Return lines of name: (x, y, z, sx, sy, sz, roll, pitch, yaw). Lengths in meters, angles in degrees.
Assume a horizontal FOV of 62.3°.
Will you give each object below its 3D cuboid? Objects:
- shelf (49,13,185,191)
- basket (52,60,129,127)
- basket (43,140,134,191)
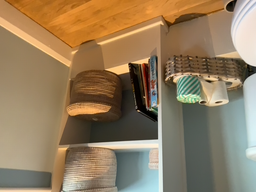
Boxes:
shelf: (-0.080, 0.620, 1.130, 0.700, 2.150, 0.300, -10, 156, 29)
basket: (-0.230, 0.010, 1.430, 0.320, 0.300, 0.380, -9, 156, 28)
basket: (-0.220, 0.460, 1.280, 0.370, 0.310, 0.360, -10, 156, 29)
